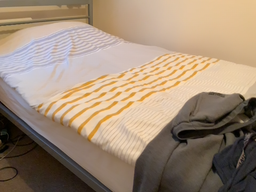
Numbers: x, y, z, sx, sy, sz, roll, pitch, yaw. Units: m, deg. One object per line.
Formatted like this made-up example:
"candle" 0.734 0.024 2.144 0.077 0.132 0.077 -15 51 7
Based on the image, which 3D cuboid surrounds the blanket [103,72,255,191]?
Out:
"blanket" 0.270 0.260 0.750 0.350 0.470 0.650 22 32 33
